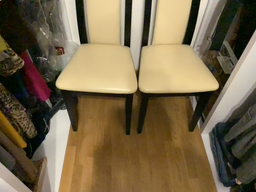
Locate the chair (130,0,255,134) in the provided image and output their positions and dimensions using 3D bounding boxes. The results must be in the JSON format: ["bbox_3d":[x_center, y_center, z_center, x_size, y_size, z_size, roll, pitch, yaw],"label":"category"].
[{"bbox_3d":[0.280,-0.290,1.280,0.460,1.060,0.580,0,51,-3],"label":"chair"}]

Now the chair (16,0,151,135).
[{"bbox_3d":[-0.180,-0.290,1.250,0.460,1.050,0.590,0,51,-3],"label":"chair"}]

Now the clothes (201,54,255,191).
[{"bbox_3d":[0.680,0.190,1.000,0.300,0.790,0.430,-2,51,-5],"label":"clothes"}]
